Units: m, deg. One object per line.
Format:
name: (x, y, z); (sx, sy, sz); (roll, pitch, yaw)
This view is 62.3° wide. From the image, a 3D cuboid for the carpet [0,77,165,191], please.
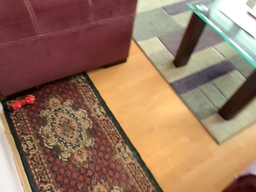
carpet: (-0.170, 0.500, 1.130); (0.600, 0.040, 1.380); (-27, 64, -23)
